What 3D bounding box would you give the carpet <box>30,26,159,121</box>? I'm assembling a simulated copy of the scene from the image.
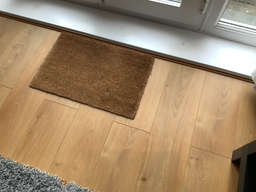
[{"bbox_3d":[-0.170,-0.150,1.170,0.580,0.030,0.430,17,66,9],"label":"carpet"}]
